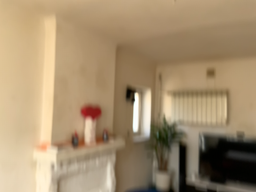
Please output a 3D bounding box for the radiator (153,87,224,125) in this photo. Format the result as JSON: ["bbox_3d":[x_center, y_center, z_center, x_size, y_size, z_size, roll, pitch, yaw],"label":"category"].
[{"bbox_3d":[1.100,0.170,4.000,1.280,0.640,0.160,0,-3,33],"label":"radiator"}]
